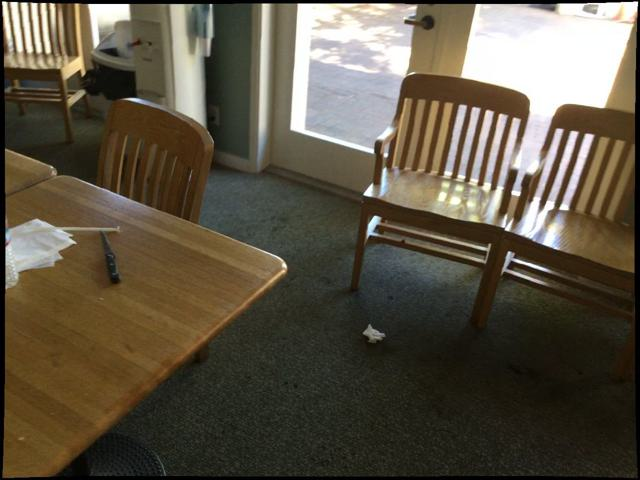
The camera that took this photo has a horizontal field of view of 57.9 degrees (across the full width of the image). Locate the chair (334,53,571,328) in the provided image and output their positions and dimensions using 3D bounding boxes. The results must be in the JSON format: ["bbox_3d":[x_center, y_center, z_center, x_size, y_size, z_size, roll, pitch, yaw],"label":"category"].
[{"bbox_3d":[0.529,-0.240,2.400,0.670,0.801,0.640,19,36,22],"label":"chair"}]

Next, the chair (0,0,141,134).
[{"bbox_3d":[-1.538,-1.191,3.640,0.619,0.821,0.690,-1,33,-7],"label":"chair"}]

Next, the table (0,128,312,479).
[{"bbox_3d":[-0.919,0.260,1.520,1.549,0.751,0.840,19,36,22],"label":"table"}]

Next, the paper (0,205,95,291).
[{"bbox_3d":[-0.669,0.010,1.300,0.200,0.030,0.230,19,36,22],"label":"paper"}]

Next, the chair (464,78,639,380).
[{"bbox_3d":[1.019,-0.080,2.190,0.630,0.791,0.650,19,36,22],"label":"chair"}]
